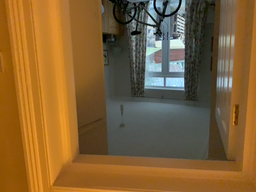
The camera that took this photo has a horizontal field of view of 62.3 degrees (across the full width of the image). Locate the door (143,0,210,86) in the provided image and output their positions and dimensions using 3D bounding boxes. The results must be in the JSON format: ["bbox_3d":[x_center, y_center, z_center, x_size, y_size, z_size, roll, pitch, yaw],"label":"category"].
[{"bbox_3d":[1.170,-1.550,5.370,1.650,2.500,0.130,5,-166,29],"label":"door"}]
